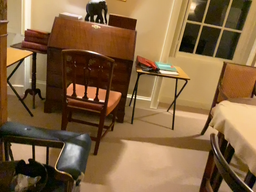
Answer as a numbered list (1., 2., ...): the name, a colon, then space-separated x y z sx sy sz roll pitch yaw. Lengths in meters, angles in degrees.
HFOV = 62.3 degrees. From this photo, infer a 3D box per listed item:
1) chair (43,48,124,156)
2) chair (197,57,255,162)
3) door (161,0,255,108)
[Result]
1. chair: -0.400 0.030 2.020 0.570 0.790 0.540 10 21 0
2. chair: 1.270 0.140 2.300 0.600 0.920 0.590 9 20 -6
3. door: 1.230 -1.090 2.970 0.950 2.580 0.110 9 20 -4
